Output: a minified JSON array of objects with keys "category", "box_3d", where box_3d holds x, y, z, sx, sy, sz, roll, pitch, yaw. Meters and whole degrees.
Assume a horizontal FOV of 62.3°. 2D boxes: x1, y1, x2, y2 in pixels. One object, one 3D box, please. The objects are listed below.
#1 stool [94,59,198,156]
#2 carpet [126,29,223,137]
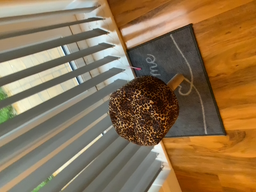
[{"category":"stool","box_3d":[0.110,0.050,1.070,0.290,0.370,0.320,-12,106,40]},{"category":"carpet","box_3d":[0.250,-0.030,1.180,0.390,0.050,0.560,-10,108,39]}]
